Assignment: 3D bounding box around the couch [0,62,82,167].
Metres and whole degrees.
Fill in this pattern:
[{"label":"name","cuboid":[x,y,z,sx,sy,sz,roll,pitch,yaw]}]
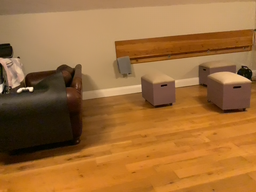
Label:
[{"label":"couch","cuboid":[-1.350,0.040,3.230,1.040,0.810,2.220,-8,16,-14]}]
